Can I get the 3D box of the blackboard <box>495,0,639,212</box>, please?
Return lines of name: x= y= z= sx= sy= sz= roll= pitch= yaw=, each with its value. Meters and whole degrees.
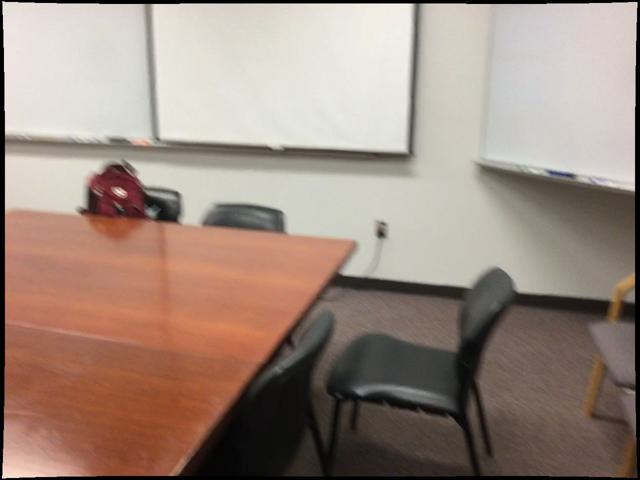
blackboard: x=1.656 y=-0.802 z=2.900 sx=0.419 sy=1.243 sz=1.399 roll=-7 pitch=18 yaw=-33

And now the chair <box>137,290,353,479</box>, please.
chair: x=-0.190 y=0.602 z=1.590 sx=0.419 sy=0.782 sz=0.400 roll=8 pitch=16 yaw=18
